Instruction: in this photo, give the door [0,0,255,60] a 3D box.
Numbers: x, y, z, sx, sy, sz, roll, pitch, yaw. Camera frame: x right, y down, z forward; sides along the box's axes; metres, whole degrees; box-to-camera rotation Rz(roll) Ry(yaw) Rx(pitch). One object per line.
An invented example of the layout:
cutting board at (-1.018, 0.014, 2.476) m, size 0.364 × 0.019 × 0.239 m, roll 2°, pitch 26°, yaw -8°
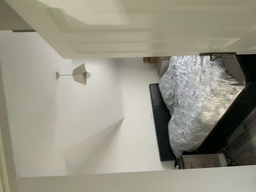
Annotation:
door at (0.560, -0.310, 1.060) m, size 0.790 × 1.940 × 0.040 m, roll 139°, pitch 129°, yaw -85°
